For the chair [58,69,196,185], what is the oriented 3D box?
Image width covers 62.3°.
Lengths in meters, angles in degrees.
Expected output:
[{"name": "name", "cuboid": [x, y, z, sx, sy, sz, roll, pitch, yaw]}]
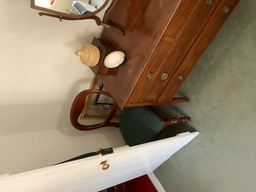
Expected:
[{"name": "chair", "cuboid": [-0.030, 0.200, 1.850, 0.670, 0.850, 0.550, 51, 128, 35]}]
